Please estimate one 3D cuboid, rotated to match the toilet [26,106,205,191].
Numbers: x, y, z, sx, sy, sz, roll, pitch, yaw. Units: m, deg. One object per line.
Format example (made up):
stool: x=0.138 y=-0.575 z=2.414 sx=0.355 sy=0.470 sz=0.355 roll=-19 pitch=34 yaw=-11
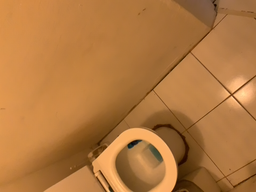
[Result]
toilet: x=-0.070 y=0.470 z=1.130 sx=0.360 sy=0.850 sz=0.680 roll=51 pitch=119 yaw=17
